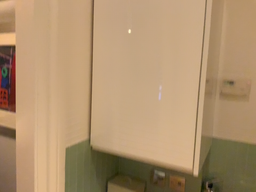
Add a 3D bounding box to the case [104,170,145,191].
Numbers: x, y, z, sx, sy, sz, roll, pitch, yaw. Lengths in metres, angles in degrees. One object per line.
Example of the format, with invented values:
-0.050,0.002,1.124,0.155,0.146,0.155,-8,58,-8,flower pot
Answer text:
-0.020,0.560,1.250,0.180,0.140,0.170,6,7,26,case
